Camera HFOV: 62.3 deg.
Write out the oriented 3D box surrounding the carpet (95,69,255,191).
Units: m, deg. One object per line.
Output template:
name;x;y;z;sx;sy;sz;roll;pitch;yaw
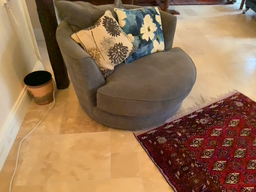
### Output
carpet;0.930;0.510;1.390;1.510;0.060;1.950;-25;46;-27
